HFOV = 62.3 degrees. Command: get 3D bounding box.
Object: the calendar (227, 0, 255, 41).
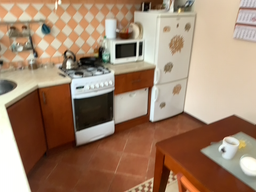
[{"bbox_3d":[1.240,-0.920,2.110,0.060,0.690,0.370,-12,27,-27],"label":"calendar"}]
